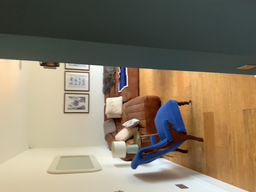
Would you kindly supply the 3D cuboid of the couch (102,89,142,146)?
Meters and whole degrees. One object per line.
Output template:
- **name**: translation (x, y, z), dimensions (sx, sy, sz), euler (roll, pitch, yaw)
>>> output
- **couch**: translation (-0.210, 0.560, 5.500), dimensions (0.810, 0.740, 1.180), euler (-109, 25, -53)

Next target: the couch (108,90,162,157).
- **couch**: translation (0.070, 0.560, 4.440), dimensions (1.340, 0.750, 1.170), euler (155, 116, -73)

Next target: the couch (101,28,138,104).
- **couch**: translation (-0.260, -0.730, 5.820), dimensions (1.170, 0.750, 1.780), euler (157, 114, -74)
